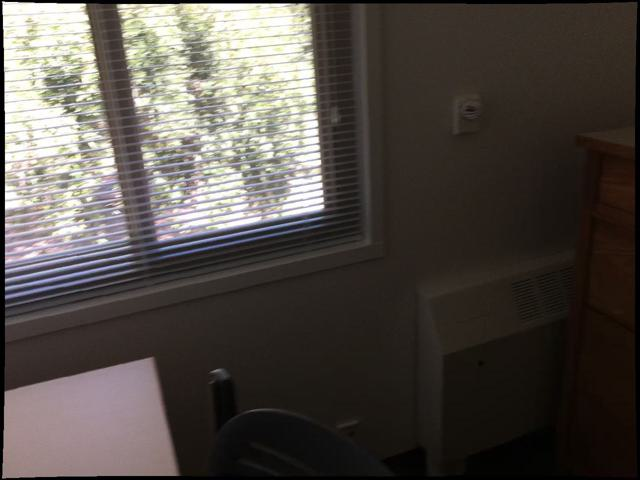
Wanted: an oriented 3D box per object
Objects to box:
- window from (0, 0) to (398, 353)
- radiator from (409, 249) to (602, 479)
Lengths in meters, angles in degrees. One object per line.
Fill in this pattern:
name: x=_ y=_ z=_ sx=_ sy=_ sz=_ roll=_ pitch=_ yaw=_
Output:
window: x=-0.449 y=-0.180 z=1.370 sx=1.257 sy=0.691 sz=0.220 roll=-13 pitch=24 yaw=-16
radiator: x=0.578 y=0.411 z=1.810 sx=0.549 sy=0.641 sz=0.160 roll=-13 pitch=24 yaw=-16
